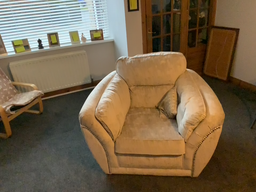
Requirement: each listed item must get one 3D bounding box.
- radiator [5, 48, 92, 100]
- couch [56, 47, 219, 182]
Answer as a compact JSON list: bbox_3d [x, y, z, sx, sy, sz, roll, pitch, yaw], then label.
[{"bbox_3d":[-1.290,-0.390,3.600,1.250,0.630,0.160,-15,29,-20],"label":"radiator"},{"bbox_3d":[0.130,0.110,2.210,1.190,0.940,1.040,0,27,8],"label":"couch"}]
